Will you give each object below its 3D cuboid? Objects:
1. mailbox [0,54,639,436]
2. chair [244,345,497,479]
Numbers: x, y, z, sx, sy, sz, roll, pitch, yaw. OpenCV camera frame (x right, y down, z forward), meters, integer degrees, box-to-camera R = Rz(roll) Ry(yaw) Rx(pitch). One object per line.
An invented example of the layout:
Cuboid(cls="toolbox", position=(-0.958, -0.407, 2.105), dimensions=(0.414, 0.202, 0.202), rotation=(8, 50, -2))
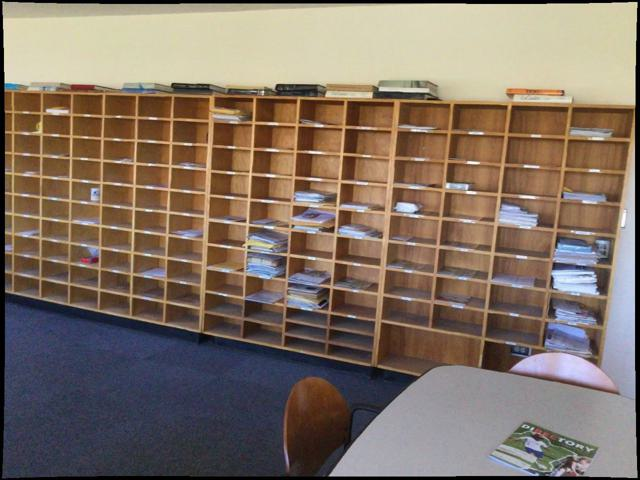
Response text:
Cuboid(cls="mailbox", position=(-0.489, -0.231, 4.190), dimensions=(4.800, 1.965, 0.590), rotation=(9, 10, 20))
Cuboid(cls="chair", position=(0.170, 0.832, 1.820), dimensions=(0.609, 0.732, 0.620), rotation=(9, 10, 20))
